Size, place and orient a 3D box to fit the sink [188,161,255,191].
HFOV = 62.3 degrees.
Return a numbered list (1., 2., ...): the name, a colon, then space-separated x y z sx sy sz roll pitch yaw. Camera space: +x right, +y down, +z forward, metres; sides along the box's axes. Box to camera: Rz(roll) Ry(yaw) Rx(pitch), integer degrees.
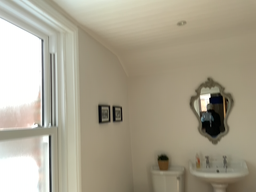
1. sink: 1.040 0.900 2.450 0.630 0.200 0.490 -6 -7 19
